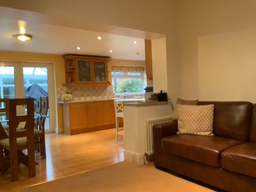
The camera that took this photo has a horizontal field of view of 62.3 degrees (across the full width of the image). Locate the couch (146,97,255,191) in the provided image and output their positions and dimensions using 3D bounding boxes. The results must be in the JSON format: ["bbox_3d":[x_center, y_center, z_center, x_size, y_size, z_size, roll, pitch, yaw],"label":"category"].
[{"bbox_3d":[1.240,0.490,2.400,0.920,0.900,2.040,-4,2,-35],"label":"couch"}]
